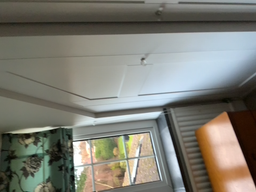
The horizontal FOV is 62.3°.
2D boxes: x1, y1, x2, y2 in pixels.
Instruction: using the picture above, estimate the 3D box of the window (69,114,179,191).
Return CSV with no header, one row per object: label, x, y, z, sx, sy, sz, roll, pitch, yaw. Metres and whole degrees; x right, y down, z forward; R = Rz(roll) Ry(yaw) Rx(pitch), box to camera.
window,0.030,0.970,1.610,0.120,0.820,1.660,112,150,-63
